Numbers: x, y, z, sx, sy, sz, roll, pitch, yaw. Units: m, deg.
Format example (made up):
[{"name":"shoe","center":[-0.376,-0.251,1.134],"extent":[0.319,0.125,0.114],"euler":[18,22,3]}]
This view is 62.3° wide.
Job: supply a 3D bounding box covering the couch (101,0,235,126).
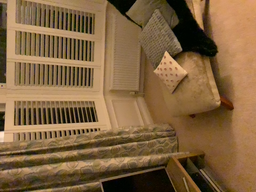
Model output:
[{"name":"couch","center":[0.310,-0.510,2.010],"extent":[0.590,0.890,1.460],"euler":[-27,66,59]}]
